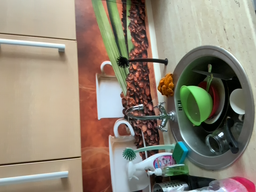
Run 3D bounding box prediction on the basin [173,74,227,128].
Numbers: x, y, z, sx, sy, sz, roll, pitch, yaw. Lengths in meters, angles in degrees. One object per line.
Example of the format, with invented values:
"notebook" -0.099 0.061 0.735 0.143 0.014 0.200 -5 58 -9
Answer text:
"basin" 0.330 0.030 1.000 0.180 0.120 0.210 145 122 -64
